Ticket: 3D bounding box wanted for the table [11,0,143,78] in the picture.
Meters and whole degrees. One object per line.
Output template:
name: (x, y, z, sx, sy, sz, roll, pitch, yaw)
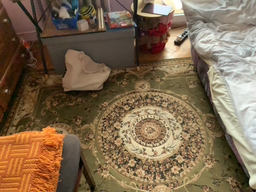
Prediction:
table: (-0.350, -0.640, 1.850, 0.890, 0.720, 0.510, -5, 47, -2)
